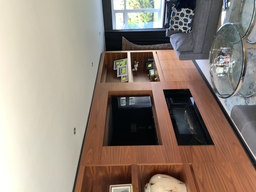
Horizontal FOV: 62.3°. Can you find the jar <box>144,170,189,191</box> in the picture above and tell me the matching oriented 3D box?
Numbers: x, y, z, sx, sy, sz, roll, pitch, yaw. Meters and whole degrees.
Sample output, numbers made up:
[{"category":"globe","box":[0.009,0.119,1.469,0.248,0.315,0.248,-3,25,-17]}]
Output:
[{"category":"jar","box":[0.460,1.140,2.620,0.330,0.490,0.270,-93,2,-52]}]

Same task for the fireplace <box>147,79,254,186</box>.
[{"category":"fireplace","box":[1.040,0.470,3.750,2.040,1.160,0.560,-93,2,-54]}]
